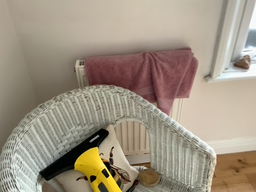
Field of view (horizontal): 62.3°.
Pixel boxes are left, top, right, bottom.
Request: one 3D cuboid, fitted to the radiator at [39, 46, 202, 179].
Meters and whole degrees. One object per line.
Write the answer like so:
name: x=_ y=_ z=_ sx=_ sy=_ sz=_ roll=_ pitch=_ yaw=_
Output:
radiator: x=-0.020 y=0.140 z=1.130 sx=0.660 sy=0.780 sz=0.120 roll=-3 pitch=35 yaw=-1
